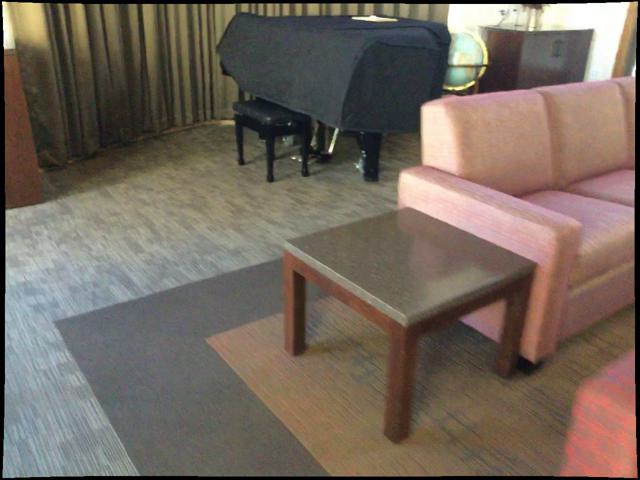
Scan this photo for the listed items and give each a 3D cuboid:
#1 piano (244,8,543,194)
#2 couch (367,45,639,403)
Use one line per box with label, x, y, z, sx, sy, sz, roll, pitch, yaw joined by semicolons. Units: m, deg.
piano;0.529;-1.081;4.070;1.839;0.851;0.940;-19;33;-32
couch;1.379;-0.300;2.740;2.229;0.921;0.890;-19;33;-32
